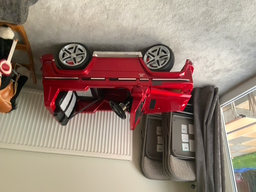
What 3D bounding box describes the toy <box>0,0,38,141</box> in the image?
[{"bbox_3d":[-1.010,-0.190,1.520,0.490,0.740,0.990,10,152,-16],"label":"toy"}]
